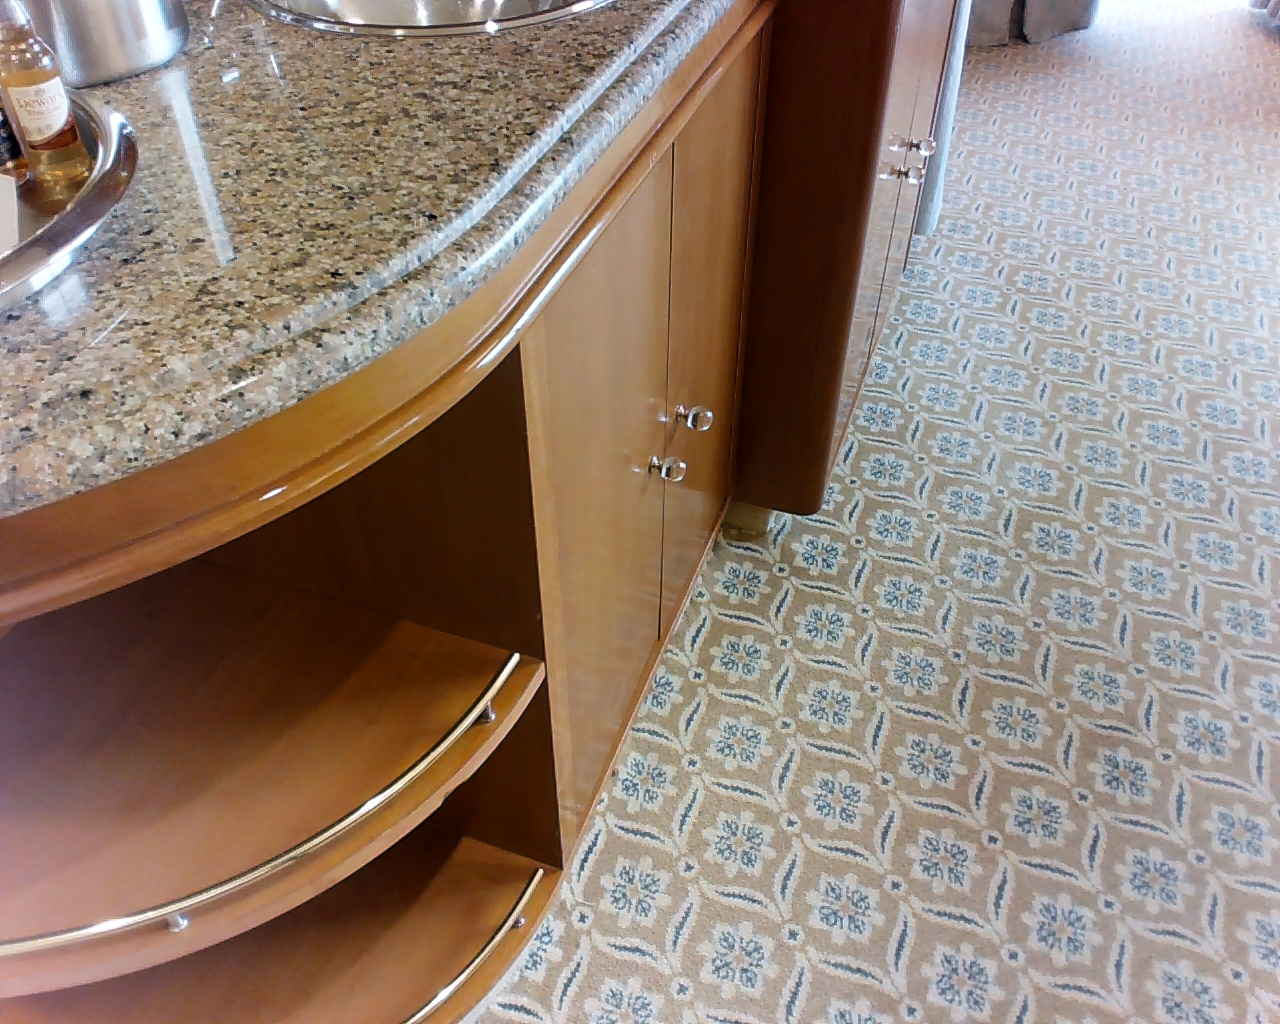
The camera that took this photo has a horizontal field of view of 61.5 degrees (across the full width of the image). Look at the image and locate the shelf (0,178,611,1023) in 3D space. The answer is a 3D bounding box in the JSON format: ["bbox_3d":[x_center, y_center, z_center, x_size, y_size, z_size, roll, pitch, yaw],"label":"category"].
[{"bbox_3d":[-0.370,0.260,0.870,0.530,0.830,0.470,16,45,17],"label":"shelf"}]
